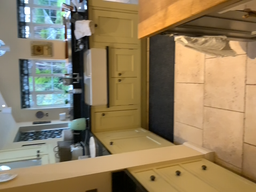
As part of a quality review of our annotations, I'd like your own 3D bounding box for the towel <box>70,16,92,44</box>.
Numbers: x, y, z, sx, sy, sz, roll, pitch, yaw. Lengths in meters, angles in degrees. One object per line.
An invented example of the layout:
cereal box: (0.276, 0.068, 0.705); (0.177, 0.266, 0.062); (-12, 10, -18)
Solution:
towel: (-0.640, -0.860, 2.830); (0.510, 0.200, 0.250); (-168, 77, -67)
